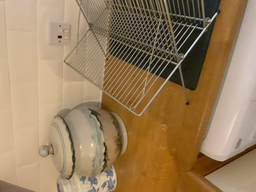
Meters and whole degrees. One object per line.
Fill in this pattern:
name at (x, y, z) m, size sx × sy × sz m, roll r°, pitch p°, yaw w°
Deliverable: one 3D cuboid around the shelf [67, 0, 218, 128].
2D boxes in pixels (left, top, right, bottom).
shelf at (0.010, -0.160, 0.640) m, size 0.320 × 0.260 × 0.350 m, roll 35°, pitch 123°, yaw 45°
